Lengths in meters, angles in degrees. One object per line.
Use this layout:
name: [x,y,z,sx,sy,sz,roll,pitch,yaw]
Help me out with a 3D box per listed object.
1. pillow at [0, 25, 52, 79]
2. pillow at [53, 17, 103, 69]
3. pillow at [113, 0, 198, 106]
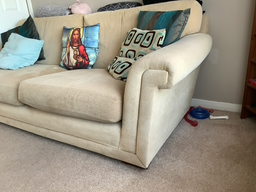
pillow: [-1.060,-0.450,2.120,0.480,0.440,0.180,15,-6,29]
pillow: [-0.440,-0.450,1.810,0.440,0.390,0.140,12,12,34]
pillow: [0.150,-0.290,1.440,0.250,0.620,0.490,12,1,-20]
